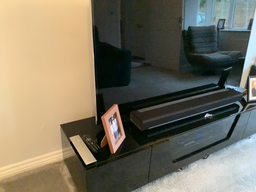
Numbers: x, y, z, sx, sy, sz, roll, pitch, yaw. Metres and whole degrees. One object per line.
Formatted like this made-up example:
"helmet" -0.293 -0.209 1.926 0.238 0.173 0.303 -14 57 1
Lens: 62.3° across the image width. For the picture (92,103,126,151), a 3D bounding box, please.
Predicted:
"picture" -0.090 0.150 1.080 0.060 0.180 0.200 22 16 10
